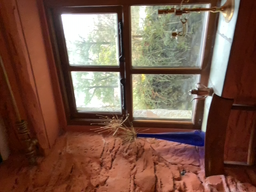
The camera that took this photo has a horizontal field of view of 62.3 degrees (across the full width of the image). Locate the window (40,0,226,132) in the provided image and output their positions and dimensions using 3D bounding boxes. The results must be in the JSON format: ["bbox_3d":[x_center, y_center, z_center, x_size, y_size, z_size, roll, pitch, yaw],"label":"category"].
[{"bbox_3d":[0.030,-0.170,1.450,0.110,1.050,0.940,-86,-5,-62],"label":"window"}]
